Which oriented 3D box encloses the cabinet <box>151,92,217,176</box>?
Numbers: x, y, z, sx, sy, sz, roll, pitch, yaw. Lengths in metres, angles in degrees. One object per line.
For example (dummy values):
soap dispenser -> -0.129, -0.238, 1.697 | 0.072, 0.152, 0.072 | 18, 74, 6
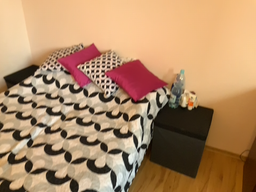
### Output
cabinet -> 0.460, 0.290, 1.750 | 0.390, 0.440, 0.400 | 15, 32, 20
